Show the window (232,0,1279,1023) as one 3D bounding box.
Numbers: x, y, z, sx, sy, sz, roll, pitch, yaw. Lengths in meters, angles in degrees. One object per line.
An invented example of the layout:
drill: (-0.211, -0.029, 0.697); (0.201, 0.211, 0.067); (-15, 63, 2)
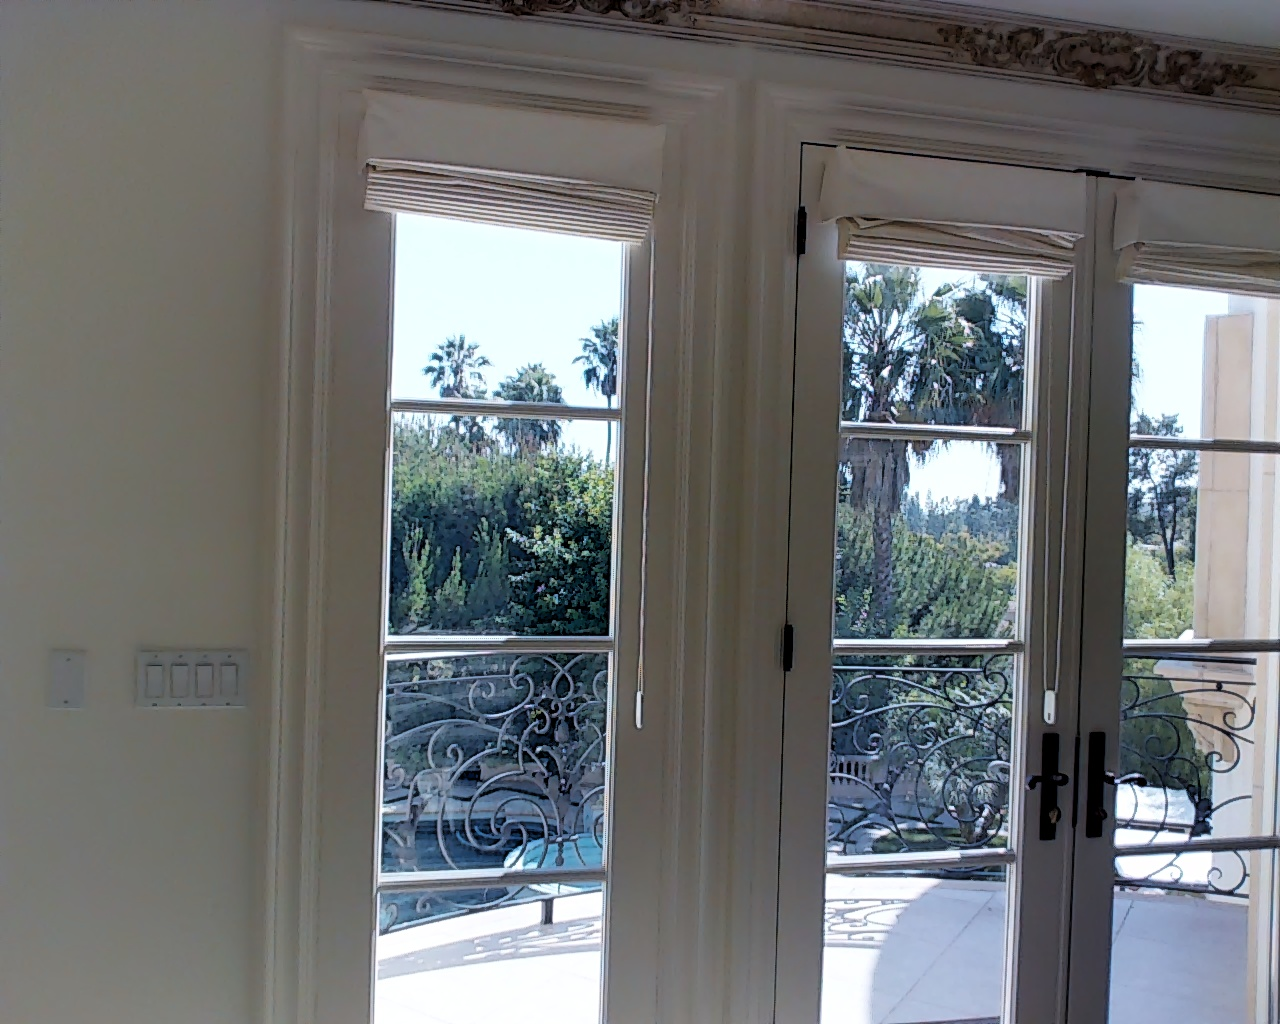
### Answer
window: (1.090, 0.290, 2.600); (3.859, 2.571, 0.200); (2, 0, -13)
